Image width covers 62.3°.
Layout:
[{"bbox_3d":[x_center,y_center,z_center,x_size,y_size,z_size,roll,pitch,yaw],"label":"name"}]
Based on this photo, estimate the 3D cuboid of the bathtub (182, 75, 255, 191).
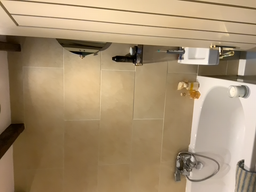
[{"bbox_3d":[0.930,0.680,1.810,0.740,0.570,1.650,-142,54,-74],"label":"bathtub"}]
